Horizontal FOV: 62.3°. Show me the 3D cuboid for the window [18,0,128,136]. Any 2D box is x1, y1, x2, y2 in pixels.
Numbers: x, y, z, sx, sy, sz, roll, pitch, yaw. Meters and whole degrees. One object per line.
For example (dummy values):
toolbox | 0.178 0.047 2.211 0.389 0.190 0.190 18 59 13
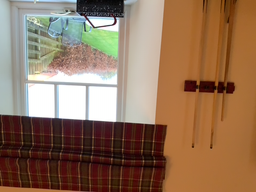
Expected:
window | -0.440 -0.220 1.700 0.830 1.050 0.080 2 -173 1
